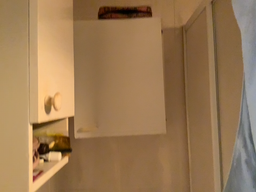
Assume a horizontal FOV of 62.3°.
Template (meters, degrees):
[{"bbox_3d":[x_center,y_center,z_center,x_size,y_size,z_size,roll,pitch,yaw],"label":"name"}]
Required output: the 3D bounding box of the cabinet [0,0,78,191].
[{"bbox_3d":[-0.270,-0.080,0.540,0.210,0.560,0.290,-1,-2,-1],"label":"cabinet"}]
